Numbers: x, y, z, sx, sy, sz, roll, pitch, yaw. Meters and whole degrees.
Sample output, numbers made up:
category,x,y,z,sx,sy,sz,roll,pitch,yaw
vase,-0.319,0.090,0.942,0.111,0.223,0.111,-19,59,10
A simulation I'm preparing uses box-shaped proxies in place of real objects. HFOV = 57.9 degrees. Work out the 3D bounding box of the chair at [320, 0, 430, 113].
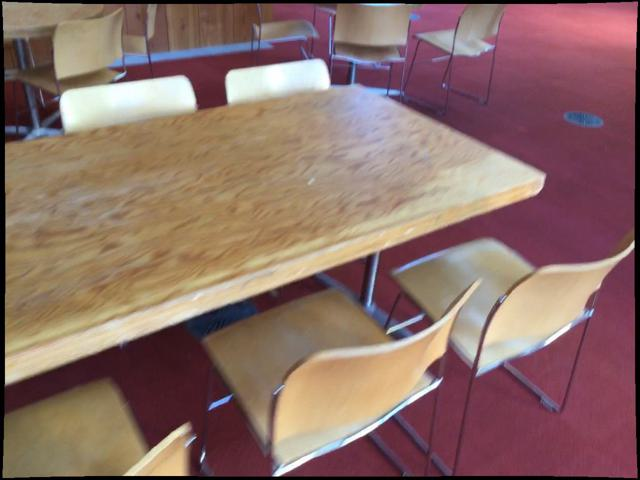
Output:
category,x,y,z,sx,sy,sz,roll,pitch,yaw
chair,0.330,-1.271,3.780,0.599,0.670,0.530,4,34,-1

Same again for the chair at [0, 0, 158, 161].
category,x,y,z,sx,sy,sz,roll,pitch,yaw
chair,-1.279,-0.881,3.020,0.590,0.660,0.510,19,37,21

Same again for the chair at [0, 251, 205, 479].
category,x,y,z,sx,sy,sz,roll,pitch,yaw
chair,-0.529,0.480,1.080,0.490,0.640,0.530,-15,39,-26

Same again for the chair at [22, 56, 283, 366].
category,x,y,z,sx,sy,sz,roll,pitch,yaw
chair,-0.589,-0.150,2.090,0.640,0.761,0.690,-16,39,-27

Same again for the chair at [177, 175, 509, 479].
category,x,y,z,sx,sy,sz,roll,pitch,yaw
chair,0.010,0.310,1.420,0.490,0.690,0.530,-18,40,-29

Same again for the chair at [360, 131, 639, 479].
category,x,y,z,sx,sy,sz,roll,pitch,yaw
chair,0.509,0.160,1.650,0.470,0.690,0.580,-18,40,-29
